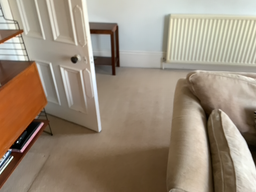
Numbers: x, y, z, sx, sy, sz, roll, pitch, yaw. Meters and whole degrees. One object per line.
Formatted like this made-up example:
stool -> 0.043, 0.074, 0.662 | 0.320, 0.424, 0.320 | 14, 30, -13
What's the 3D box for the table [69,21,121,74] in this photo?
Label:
table -> -0.470, -0.740, 3.230 | 0.630, 0.680, 0.360 | 6, 34, 10
